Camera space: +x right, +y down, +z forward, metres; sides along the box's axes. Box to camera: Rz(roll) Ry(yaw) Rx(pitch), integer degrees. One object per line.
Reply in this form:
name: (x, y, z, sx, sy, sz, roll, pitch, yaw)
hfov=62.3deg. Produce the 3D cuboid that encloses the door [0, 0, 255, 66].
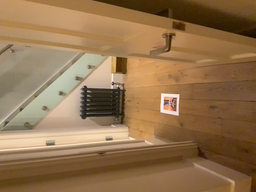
door: (-0.050, -0.290, 1.120, 0.760, 2.210, 0.050, 12, 100, 62)
